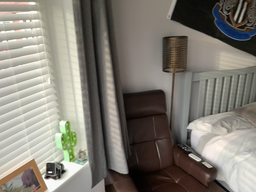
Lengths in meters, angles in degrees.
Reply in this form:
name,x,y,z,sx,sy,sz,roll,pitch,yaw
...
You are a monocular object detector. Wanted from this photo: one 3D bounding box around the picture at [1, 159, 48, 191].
name,x,y,z,sx,sy,sz,roll,pitch,yaw
picture,-0.590,0.500,1.230,0.040,0.200,0.240,-10,-2,30
